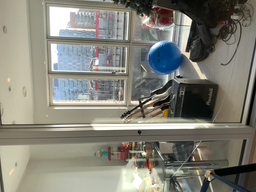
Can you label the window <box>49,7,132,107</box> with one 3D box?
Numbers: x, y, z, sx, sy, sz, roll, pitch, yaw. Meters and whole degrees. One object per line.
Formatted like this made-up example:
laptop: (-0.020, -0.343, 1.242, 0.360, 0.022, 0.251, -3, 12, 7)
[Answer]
window: (-0.650, -0.610, 3.750, 0.070, 1.340, 1.680, -121, 33, -72)
